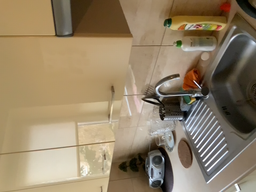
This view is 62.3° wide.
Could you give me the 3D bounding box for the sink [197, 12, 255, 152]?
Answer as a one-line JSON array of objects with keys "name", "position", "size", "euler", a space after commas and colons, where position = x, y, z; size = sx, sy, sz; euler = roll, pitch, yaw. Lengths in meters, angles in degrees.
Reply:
[{"name": "sink", "position": [0.540, -0.060, 0.920], "size": [0.400, 0.170, 0.440], "euler": [102, 160, -48]}]
